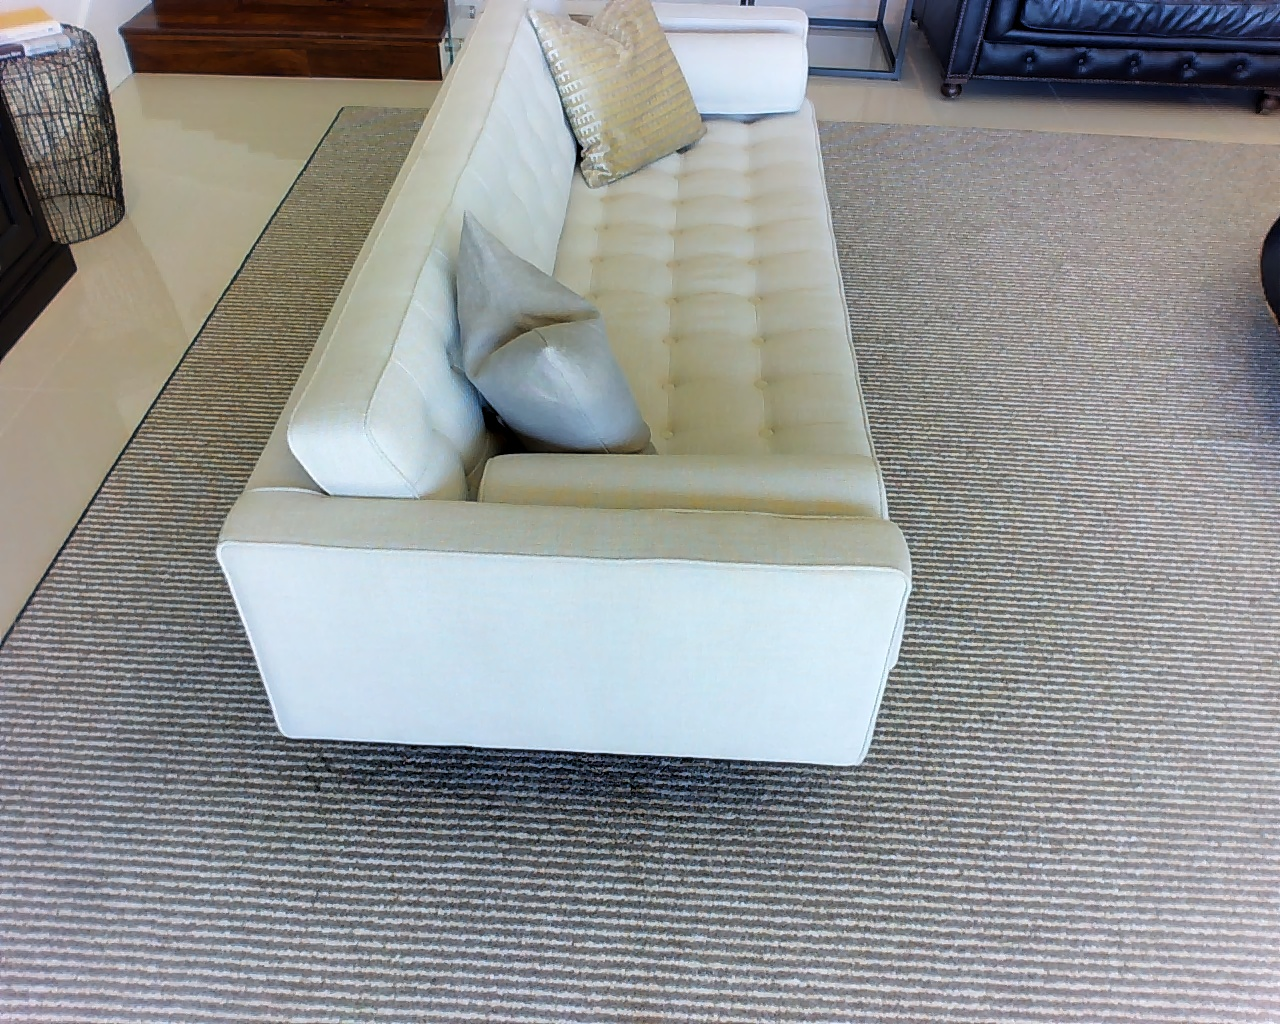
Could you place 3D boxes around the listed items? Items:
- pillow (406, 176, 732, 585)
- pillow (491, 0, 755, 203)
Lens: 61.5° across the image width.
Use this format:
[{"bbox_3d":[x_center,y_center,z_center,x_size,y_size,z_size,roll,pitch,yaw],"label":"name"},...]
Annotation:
[{"bbox_3d":[-0.140,-0.210,1.680,0.240,0.430,0.440,-10,51,-32],"label":"pillow"},{"bbox_3d":[-0.040,-1.040,2.650,0.280,0.430,0.440,49,38,11],"label":"pillow"}]
